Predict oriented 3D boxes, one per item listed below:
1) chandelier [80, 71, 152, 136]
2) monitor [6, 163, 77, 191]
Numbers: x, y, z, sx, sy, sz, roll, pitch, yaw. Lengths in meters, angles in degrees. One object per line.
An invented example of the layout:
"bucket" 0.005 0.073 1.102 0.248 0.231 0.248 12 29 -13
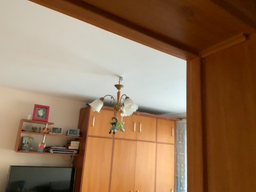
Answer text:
"chandelier" -0.150 0.090 2.500 0.580 0.610 0.460 -12 -4 -32
"monitor" -1.280 1.340 3.190 0.950 0.610 0.070 12 -16 -29
